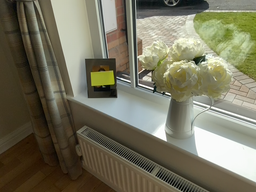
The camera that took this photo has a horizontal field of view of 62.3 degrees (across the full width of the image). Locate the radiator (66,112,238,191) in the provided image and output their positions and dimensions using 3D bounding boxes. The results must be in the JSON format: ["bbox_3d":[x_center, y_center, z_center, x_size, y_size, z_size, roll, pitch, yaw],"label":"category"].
[{"bbox_3d":[0.150,0.540,1.100,1.130,0.550,0.150,22,41,32],"label":"radiator"}]
